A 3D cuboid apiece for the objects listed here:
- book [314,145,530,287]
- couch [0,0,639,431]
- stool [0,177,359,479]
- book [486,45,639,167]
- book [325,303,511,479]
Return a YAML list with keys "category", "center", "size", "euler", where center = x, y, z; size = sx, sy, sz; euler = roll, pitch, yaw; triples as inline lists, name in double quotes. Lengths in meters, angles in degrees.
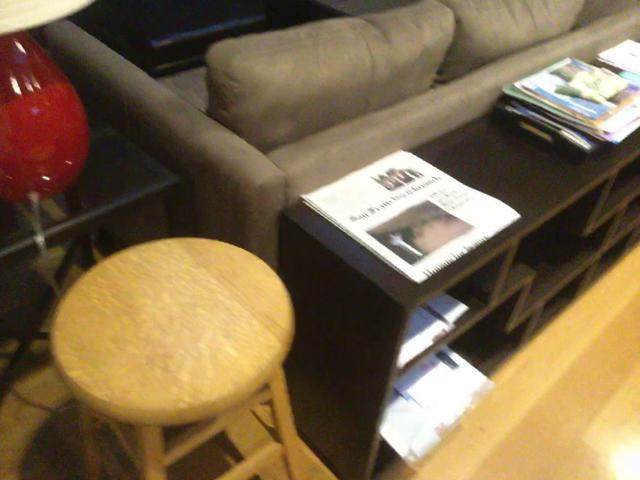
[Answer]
- category: "book"
  center: [0.180, -0.060, 1.030]
  size: [0.290, 0.030, 0.250]
  euler: [-29, 48, -31]
- category: "couch"
  center: [0.290, -0.500, 1.730]
  size: [1.950, 0.700, 0.900]
  euler: [-29, 48, -31]
- category: "stool"
  center: [-0.250, 0.320, 1.020]
  size: [0.420, 0.630, 0.430]
  euler: [-29, 48, -31]
- category: "book"
  center: [0.600, -0.320, 1.320]
  size: [0.350, 0.090, 0.260]
  euler: [-29, 48, -31]
- category: "book"
  center: [0.200, 0.300, 1.190]
  size: [0.320, 0.110, 0.210]
  euler: [-29, 48, -31]
